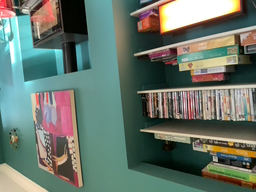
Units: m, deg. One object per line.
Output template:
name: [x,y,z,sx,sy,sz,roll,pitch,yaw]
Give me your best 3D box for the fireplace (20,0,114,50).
fireplace: [-0.750,-0.990,2.380,0.490,0.720,1.180,-8,-175,-42]
